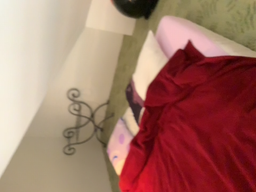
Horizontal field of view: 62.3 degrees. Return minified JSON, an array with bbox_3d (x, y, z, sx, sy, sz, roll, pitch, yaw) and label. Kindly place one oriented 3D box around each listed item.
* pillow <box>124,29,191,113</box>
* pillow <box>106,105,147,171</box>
[{"bbox_3d":[0.170,-0.170,1.440,0.360,0.210,0.420,-113,34,-52],"label":"pillow"},{"bbox_3d":[-0.030,0.340,1.730,0.320,0.160,0.420,-114,35,-53],"label":"pillow"}]
